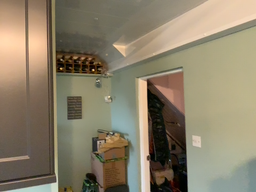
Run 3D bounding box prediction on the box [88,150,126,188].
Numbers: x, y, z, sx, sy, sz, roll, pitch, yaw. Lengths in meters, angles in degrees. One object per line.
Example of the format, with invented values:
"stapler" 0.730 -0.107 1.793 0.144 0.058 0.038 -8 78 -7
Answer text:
"box" -0.300 0.960 2.880 0.360 0.320 0.510 -1 -1 -26
